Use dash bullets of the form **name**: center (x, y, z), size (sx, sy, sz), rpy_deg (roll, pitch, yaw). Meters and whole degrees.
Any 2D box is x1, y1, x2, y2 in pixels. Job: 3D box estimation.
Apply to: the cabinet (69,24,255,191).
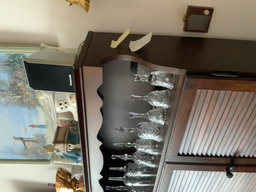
- **cabinet**: center (0.230, 0.170, 0.880), size (0.310, 0.790, 0.790), rpy_deg (-89, 3, -53)
